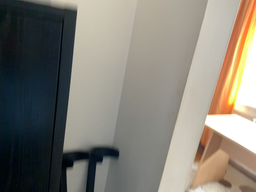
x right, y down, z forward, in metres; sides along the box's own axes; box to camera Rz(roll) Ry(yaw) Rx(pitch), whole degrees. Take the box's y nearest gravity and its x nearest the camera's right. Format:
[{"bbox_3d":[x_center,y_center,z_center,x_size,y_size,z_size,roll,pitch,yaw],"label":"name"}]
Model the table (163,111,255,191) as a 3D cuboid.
[{"bbox_3d":[1.090,0.750,2.120,0.730,0.800,1.210,1,18,-30],"label":"table"}]
